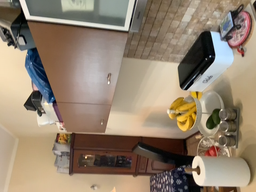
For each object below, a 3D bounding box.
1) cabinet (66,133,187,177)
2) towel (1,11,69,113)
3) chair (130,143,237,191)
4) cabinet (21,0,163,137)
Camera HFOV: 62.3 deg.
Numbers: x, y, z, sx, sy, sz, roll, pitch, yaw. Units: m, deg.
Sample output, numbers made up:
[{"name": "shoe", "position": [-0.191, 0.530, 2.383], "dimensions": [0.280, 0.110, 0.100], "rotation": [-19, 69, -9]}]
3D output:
[{"name": "cabinet", "position": [-0.030, 1.060, 3.710], "dimensions": [0.590, 1.930, 0.560], "rotation": [111, 161, -62]}, {"name": "towel", "position": [-0.560, -0.180, 1.400], "dimensions": [0.560, 0.230, 0.410], "rotation": [113, 160, -64]}, {"name": "chair", "position": [0.650, 0.960, 2.670], "dimensions": [0.430, 1.200, 0.590], "rotation": [112, 161, -63]}, {"name": "cabinet", "position": [-0.150, -0.340, 0.930], "dimensions": [3.290, 0.420, 0.330], "rotation": [113, 159, -65]}]
